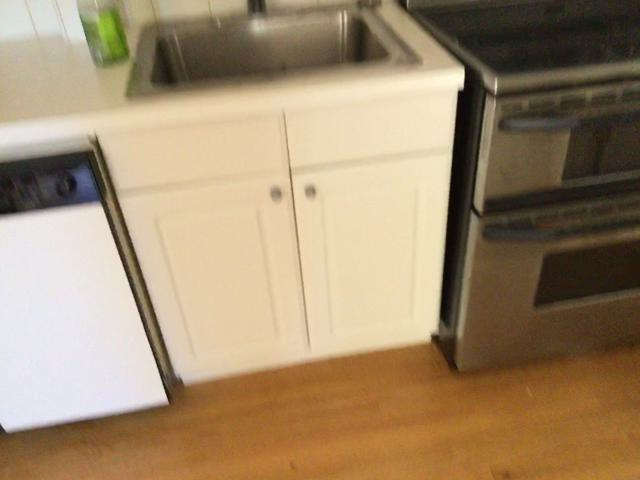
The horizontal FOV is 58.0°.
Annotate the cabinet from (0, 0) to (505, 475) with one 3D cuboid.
[{"bbox_3d":[-0.310,-0.100,1.570,1.310,1.010,0.690,-11,35,-5],"label":"cabinet"}]
